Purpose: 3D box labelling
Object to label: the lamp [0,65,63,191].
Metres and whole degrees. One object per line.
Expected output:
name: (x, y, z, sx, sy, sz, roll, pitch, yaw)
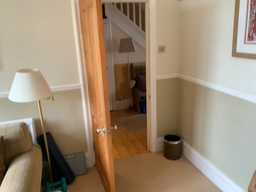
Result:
lamp: (-0.900, 0.430, 2.090, 0.330, 1.400, 0.370, -8, 18, -18)
